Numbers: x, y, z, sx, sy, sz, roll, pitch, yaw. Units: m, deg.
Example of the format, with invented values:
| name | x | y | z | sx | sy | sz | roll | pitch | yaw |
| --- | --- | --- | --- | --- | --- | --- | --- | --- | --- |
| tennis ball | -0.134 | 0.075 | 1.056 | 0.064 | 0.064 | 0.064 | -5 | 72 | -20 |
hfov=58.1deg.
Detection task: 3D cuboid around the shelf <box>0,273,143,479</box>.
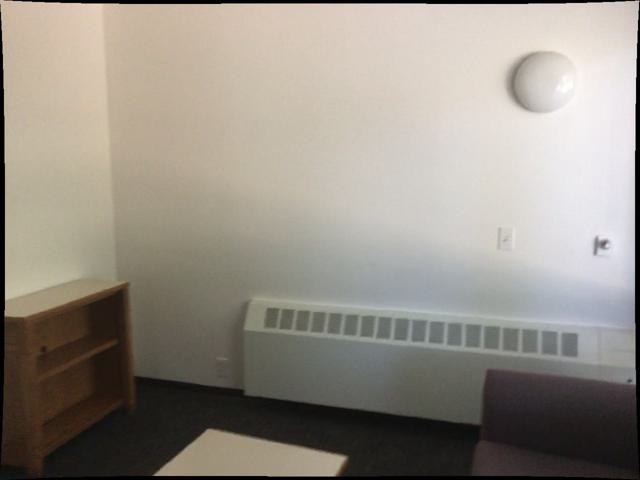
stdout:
| name | x | y | z | sx | sy | sz | roll | pitch | yaw |
| --- | --- | --- | --- | --- | --- | --- | --- | --- | --- |
| shelf | -1.308 | 0.641 | 2.930 | 0.320 | 0.751 | 0.870 | 3 | 11 | 16 |
